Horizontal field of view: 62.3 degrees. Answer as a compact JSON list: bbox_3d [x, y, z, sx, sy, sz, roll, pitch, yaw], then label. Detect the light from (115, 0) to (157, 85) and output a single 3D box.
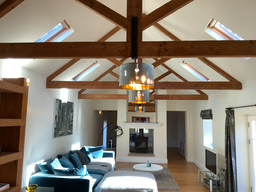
[{"bbox_3d":[0.170,-1.120,3.600,0.630,1.810,0.560,0,-6,8],"label":"light"}]
